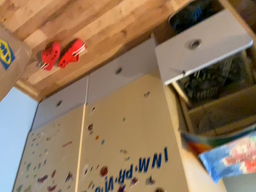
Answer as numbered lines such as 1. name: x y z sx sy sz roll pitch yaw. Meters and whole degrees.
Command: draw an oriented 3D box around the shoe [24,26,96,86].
1. shoe: -0.400 -0.220 1.250 0.380 0.070 0.190 -27 134 23
